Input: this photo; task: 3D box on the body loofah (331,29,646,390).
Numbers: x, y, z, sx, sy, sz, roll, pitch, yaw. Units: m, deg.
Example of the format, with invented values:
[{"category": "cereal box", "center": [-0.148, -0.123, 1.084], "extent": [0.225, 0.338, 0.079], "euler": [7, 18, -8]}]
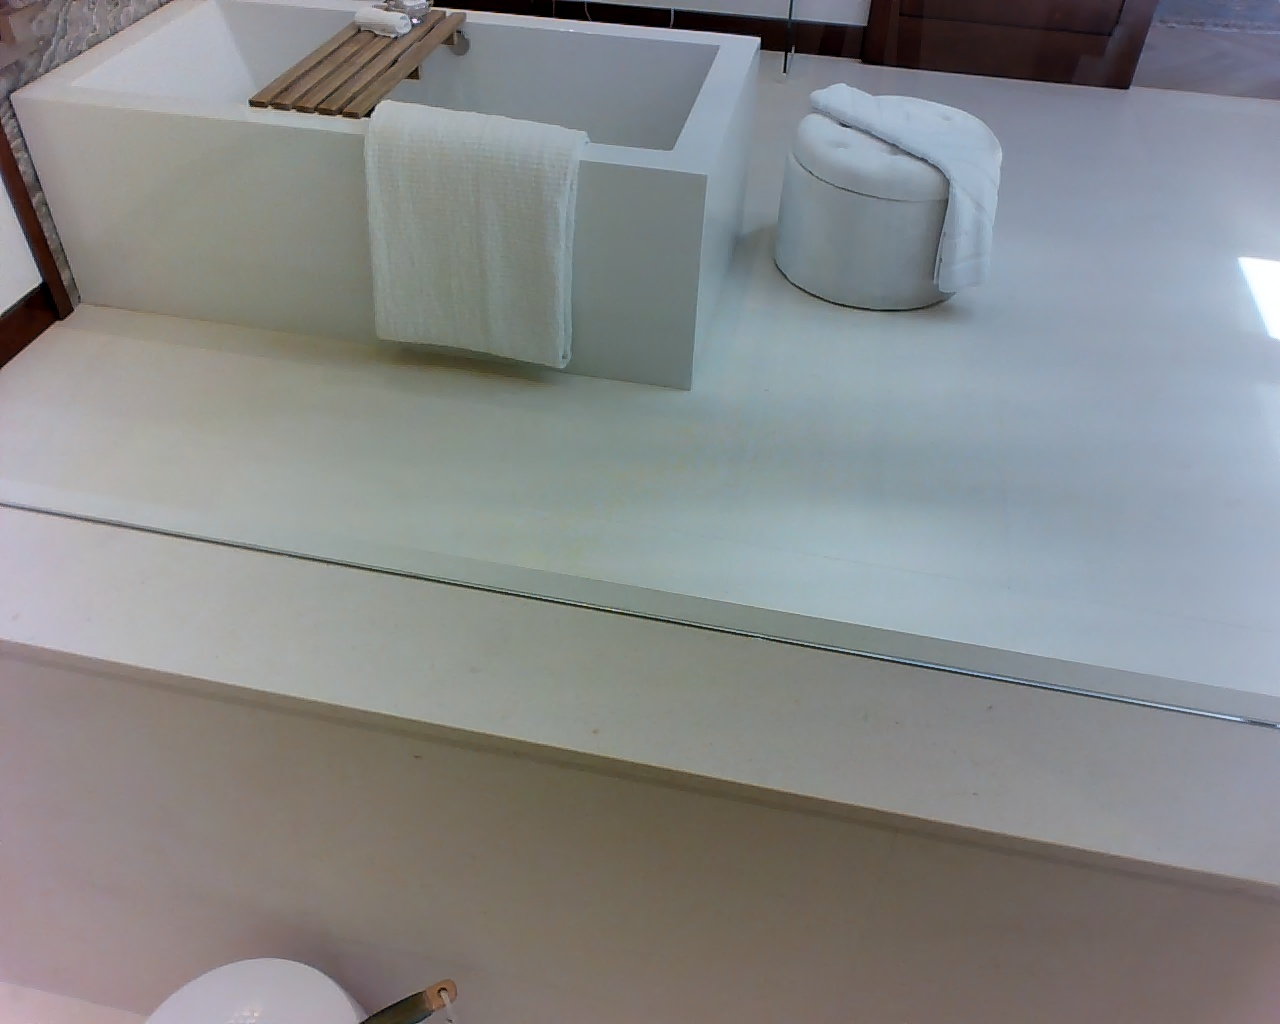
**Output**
[{"category": "body loofah", "center": [-0.350, -0.830, 2.880], "extent": [0.580, 0.630, 0.720], "euler": [9, 42, 9]}]

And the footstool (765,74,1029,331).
[{"category": "footstool", "center": [0.770, -0.960, 3.270], "extent": [0.660, 0.470, 0.630], "euler": [9, 42, 8]}]
